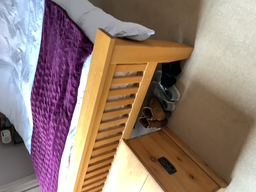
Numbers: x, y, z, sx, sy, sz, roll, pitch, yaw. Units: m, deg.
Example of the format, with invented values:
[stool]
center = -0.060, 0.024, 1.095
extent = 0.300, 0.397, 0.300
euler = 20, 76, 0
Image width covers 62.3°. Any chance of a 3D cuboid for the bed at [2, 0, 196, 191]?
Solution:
[bed]
center = -0.740, -0.080, 2.270
extent = 2.210, 0.630, 2.000
euler = 44, 128, 36
